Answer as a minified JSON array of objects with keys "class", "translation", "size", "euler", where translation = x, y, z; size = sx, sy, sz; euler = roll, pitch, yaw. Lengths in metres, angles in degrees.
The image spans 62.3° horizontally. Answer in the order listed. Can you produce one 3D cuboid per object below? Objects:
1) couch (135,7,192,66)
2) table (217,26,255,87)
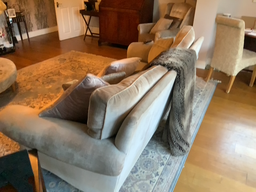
[{"class":"couch","translation":[0.610,-1.130,3.960],"size":[0.740,0.880,0.650],"euler":[-9,31,-18]},{"class":"table","translation":[2.020,-0.600,3.310],"size":[0.970,0.740,0.520],"euler":[16,33,23]}]
